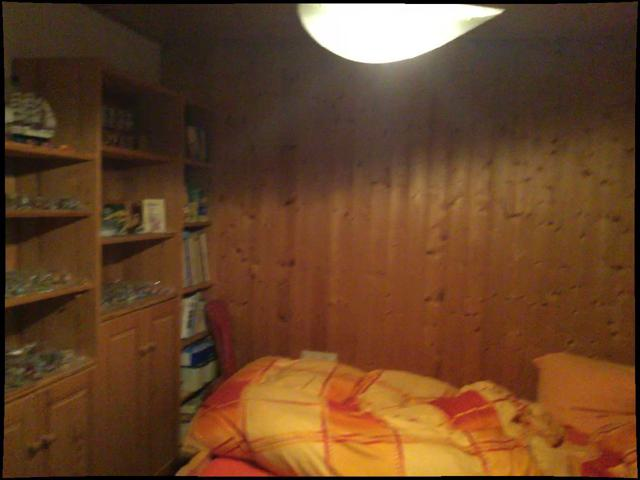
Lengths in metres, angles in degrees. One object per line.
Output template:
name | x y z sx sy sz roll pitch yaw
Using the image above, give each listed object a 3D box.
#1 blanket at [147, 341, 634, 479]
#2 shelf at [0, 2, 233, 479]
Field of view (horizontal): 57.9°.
blanket | 0.280 0.741 2.450 1.638 0.260 1.030 2 5 15
shelf | -1.019 0.160 2.620 0.460 1.912 2.010 2 5 15
